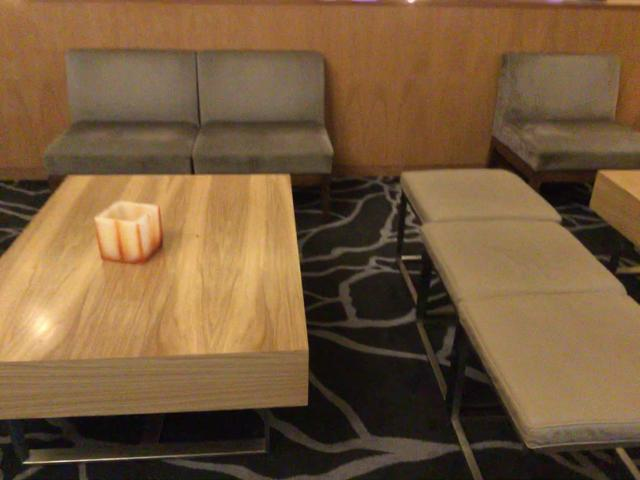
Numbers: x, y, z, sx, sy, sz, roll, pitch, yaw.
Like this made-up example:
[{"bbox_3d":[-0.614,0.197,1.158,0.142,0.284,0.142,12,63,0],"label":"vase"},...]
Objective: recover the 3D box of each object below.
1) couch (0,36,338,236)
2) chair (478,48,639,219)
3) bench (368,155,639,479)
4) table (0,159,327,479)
[{"bbox_3d":[-0.730,-0.590,3.080,1.550,0.850,0.730,-2,27,-5],"label":"couch"},{"bbox_3d":[1.420,-0.620,3.250,0.750,0.780,0.660,-2,27,-5],"label":"chair"},{"bbox_3d":[0.630,0.160,2.010,0.630,0.390,1.620,-2,27,-5],"label":"bench"},{"bbox_3d":[-0.530,0.180,1.980,0.970,0.510,1.250,-2,27,-5],"label":"table"}]
